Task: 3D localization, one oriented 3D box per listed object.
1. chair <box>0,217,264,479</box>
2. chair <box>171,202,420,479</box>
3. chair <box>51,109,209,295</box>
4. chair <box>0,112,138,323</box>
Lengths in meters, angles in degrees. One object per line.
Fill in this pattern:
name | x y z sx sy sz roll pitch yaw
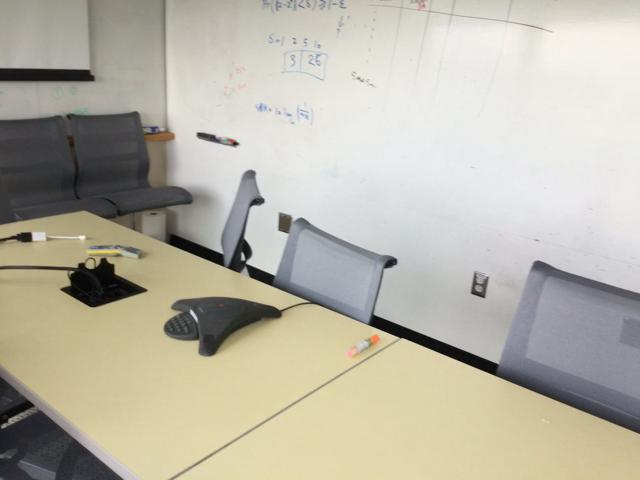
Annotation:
chair | -0.620 0.530 1.310 0.720 0.930 0.720 -9 22 -31
chair | -0.130 0.420 1.830 0.360 0.890 0.750 -12 23 -36
chair | -1.080 -0.260 3.360 0.580 0.890 0.610 18 24 38
chair | -1.390 -0.160 3.040 0.550 0.920 0.580 18 24 38
